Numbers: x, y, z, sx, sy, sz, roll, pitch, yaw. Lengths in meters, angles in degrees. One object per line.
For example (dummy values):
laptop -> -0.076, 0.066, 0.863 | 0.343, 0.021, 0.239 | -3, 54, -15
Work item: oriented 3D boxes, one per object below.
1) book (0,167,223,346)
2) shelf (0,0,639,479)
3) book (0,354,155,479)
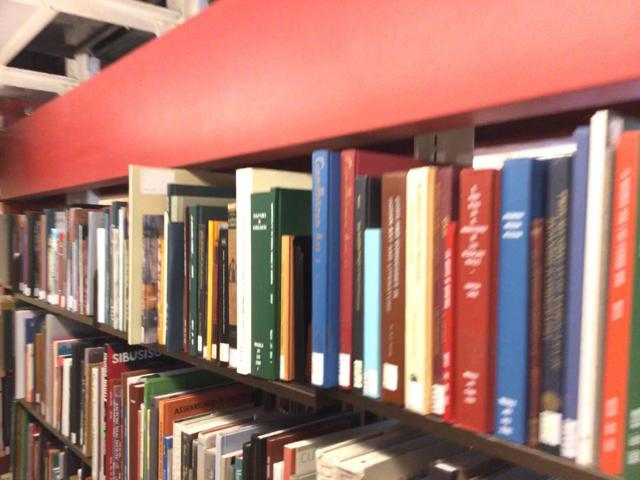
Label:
book -> -0.860, 0.050, 1.940 | 0.210, 0.380, 1.690 | -3, 0, -40
shelf -> 0.150, 0.650, 0.920 | 0.610, 1.970, 4.980 | -3, 0, -40
book -> -1.020, 0.770, 2.080 | 0.180, 0.480, 1.630 | -3, 0, -40
